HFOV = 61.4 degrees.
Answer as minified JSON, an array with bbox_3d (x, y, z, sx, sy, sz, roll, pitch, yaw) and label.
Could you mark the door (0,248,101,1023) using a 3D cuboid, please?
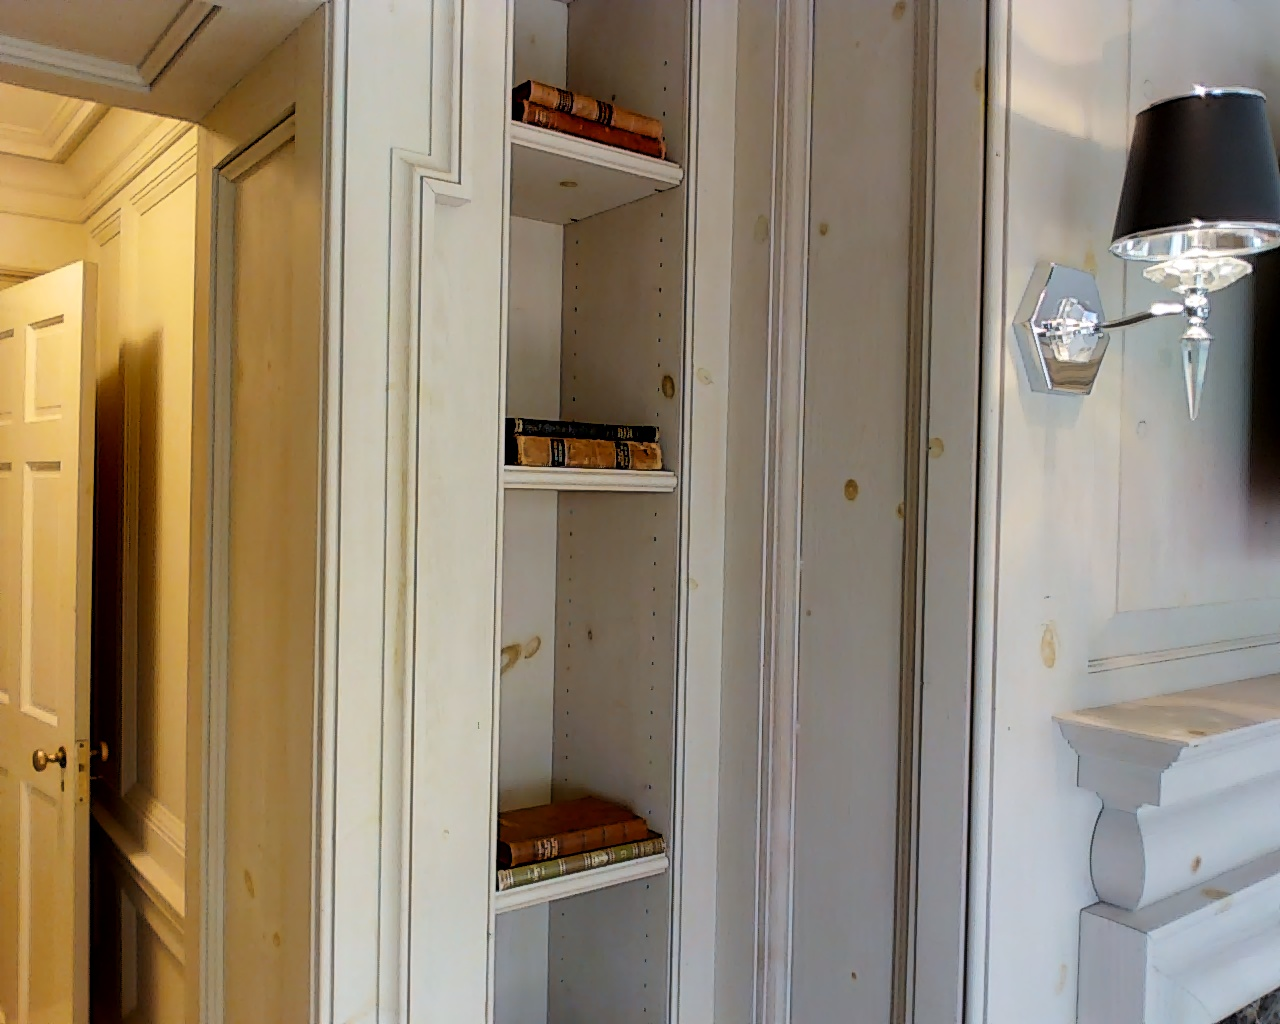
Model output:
[{"bbox_3d":[-1.540,0.450,2.670,0.860,2.070,0.040,2,1,43],"label":"door"}]
